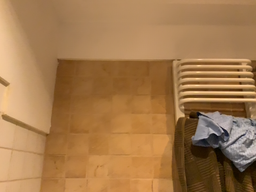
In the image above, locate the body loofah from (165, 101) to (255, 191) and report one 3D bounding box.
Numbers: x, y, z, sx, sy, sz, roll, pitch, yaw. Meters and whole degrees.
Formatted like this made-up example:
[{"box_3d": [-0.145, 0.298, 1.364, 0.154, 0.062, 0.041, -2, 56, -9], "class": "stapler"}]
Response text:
[{"box_3d": [0.370, 0.380, 0.850, 0.370, 0.680, 0.230, 1, -17, -2], "class": "body loofah"}]
